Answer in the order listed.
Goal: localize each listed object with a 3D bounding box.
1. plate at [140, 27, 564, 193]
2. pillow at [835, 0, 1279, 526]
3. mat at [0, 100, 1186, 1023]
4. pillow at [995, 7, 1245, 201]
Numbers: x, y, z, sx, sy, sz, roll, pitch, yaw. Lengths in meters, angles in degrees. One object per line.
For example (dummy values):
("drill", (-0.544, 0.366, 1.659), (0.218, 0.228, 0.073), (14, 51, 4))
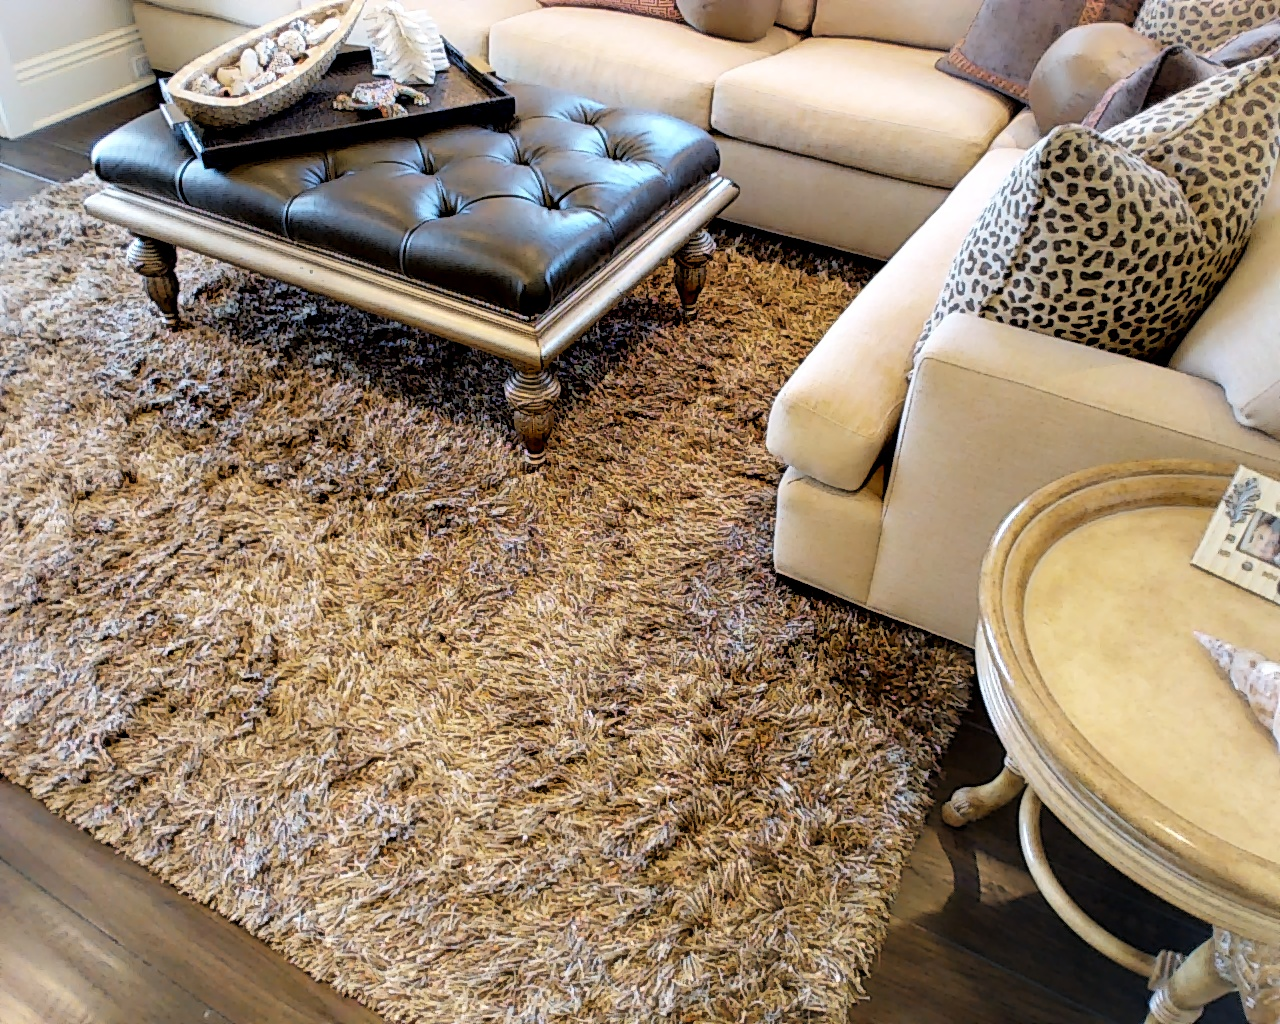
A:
("plate", (-0.680, -0.970, 2.520), (0.830, 0.060, 0.570), (-20, 45, -22))
("pillow", (0.740, -0.430, 1.710), (0.630, 0.570, 0.460), (-22, 45, -24))
("mat", (-0.630, -0.270, 2.580), (3.280, 0.090, 2.390), (21, 45, 22))
("pillow", (1.110, -0.970, 2.540), (0.360, 0.320, 0.360), (-2, 41, -3))
